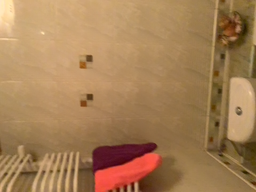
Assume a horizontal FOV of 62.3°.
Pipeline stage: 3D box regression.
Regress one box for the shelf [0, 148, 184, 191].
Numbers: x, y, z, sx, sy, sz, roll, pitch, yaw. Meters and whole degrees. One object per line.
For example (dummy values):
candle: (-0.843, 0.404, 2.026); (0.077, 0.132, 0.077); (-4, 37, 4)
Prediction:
shelf: (-0.250, 0.450, 1.200); (0.570, 0.950, 0.060); (-143, 54, -77)
